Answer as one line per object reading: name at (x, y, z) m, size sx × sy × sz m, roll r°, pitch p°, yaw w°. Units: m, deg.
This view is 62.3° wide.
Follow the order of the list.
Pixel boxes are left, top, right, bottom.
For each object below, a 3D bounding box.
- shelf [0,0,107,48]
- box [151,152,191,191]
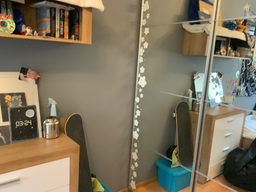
shelf at (-0.790, -0.500, 1.150) m, size 1.350 × 0.360 × 0.360 m, roll -5°, pitch 14°, yaw -38°
box at (0.510, 0.920, 2.540) m, size 0.270 × 0.320 × 0.350 m, roll -5°, pitch 14°, yaw -39°
